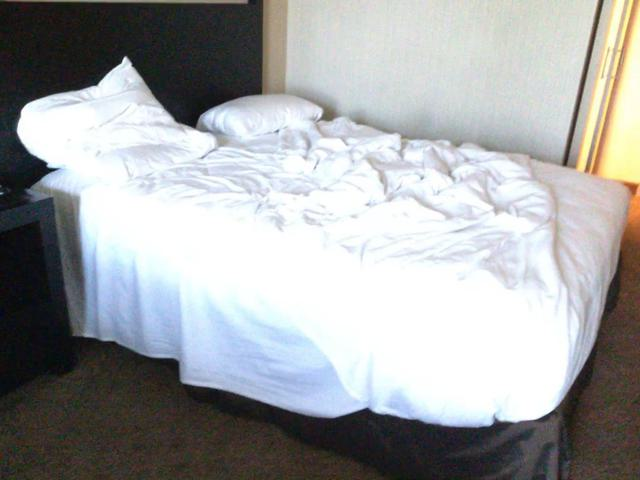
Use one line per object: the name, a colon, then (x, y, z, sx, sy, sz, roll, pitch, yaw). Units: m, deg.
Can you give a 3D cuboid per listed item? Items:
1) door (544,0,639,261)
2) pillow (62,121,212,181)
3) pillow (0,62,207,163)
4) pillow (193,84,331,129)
door: (1.600, -0.900, 3.210, 0.180, 1.750, 1.130, 14, 26, 28)
pillow: (-0.720, -0.370, 2.330, 0.330, 0.100, 0.470, 14, 26, 28)
pillow: (-0.800, -0.520, 2.240, 0.380, 0.250, 0.630, 14, 26, 28)
pillow: (-0.280, -0.700, 2.970, 0.420, 0.100, 0.610, 14, 26, 28)
